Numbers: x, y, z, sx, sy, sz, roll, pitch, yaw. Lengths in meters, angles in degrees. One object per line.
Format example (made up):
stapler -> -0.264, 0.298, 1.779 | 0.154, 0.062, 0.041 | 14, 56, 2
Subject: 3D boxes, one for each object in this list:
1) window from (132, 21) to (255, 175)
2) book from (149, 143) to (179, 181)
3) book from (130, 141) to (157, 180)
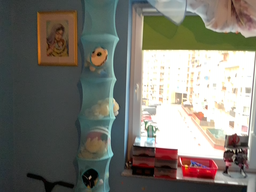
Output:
window -> 0.580, 0.020, 1.890 | 1.040, 1.290, 0.130 | 2, 5, 4
book -> 0.300, 0.550, 1.800 | 0.220, 0.240, 0.200 | 2, 5, 3
book -> 0.130, 0.540, 1.800 | 0.210, 0.240, 0.210 | 2, 5, 4
